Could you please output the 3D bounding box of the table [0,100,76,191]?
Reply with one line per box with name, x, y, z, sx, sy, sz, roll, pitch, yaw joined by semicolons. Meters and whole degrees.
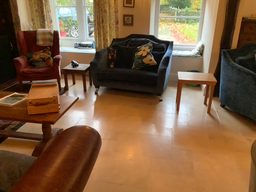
table;-1.130;0.430;2.100;1.010;0.520;0.590;5;24;10
